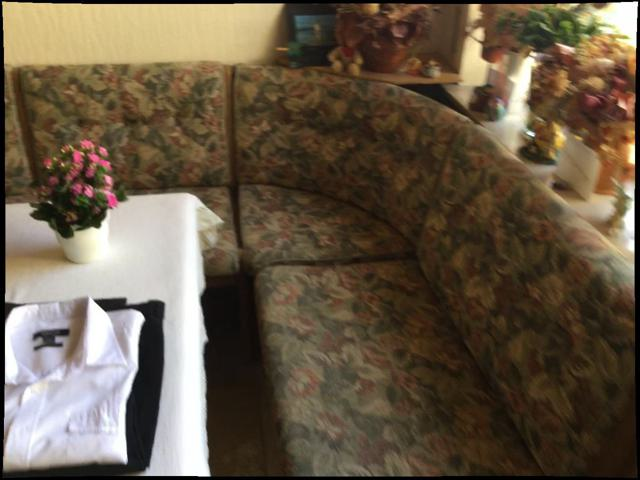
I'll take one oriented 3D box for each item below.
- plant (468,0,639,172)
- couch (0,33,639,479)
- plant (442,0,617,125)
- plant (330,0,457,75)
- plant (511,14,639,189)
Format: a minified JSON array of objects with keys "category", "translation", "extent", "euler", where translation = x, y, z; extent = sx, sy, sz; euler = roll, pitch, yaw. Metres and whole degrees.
[{"category":"plant","translation":[0.629,-0.511,1.420],"extent":[0.300,0.530,0.420],"euler":[-5,35,-9]},{"category":"couch","translation":[-0.499,0.140,1.580],"extent":[2.088,0.911,1.530],"euler":[-5,35,-9]},{"category":"plant","translation":[0.599,-0.621,1.730],"extent":[0.290,0.400,0.400],"euler":[-5,35,-9]},{"category":"plant","translation":[0.230,-0.741,1.890],"extent":[0.350,0.320,0.230],"euler":[-5,35,-9]},{"category":"plant","translation":[0.669,-0.320,1.280],"extent":[0.310,0.260,0.340],"euler":[-5,35,-9]}]
